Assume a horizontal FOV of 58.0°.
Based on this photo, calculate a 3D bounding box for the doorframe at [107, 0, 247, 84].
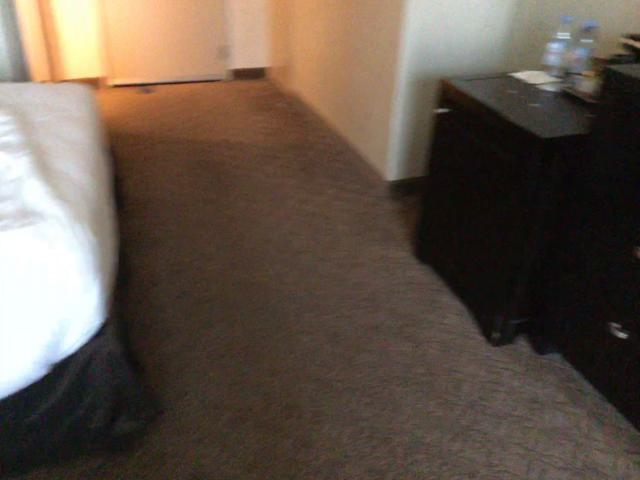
[{"bbox_3d":[-1.090,-2.380,4.090,1.000,2.450,0.060,-8,30,-15],"label":"doorframe"}]
